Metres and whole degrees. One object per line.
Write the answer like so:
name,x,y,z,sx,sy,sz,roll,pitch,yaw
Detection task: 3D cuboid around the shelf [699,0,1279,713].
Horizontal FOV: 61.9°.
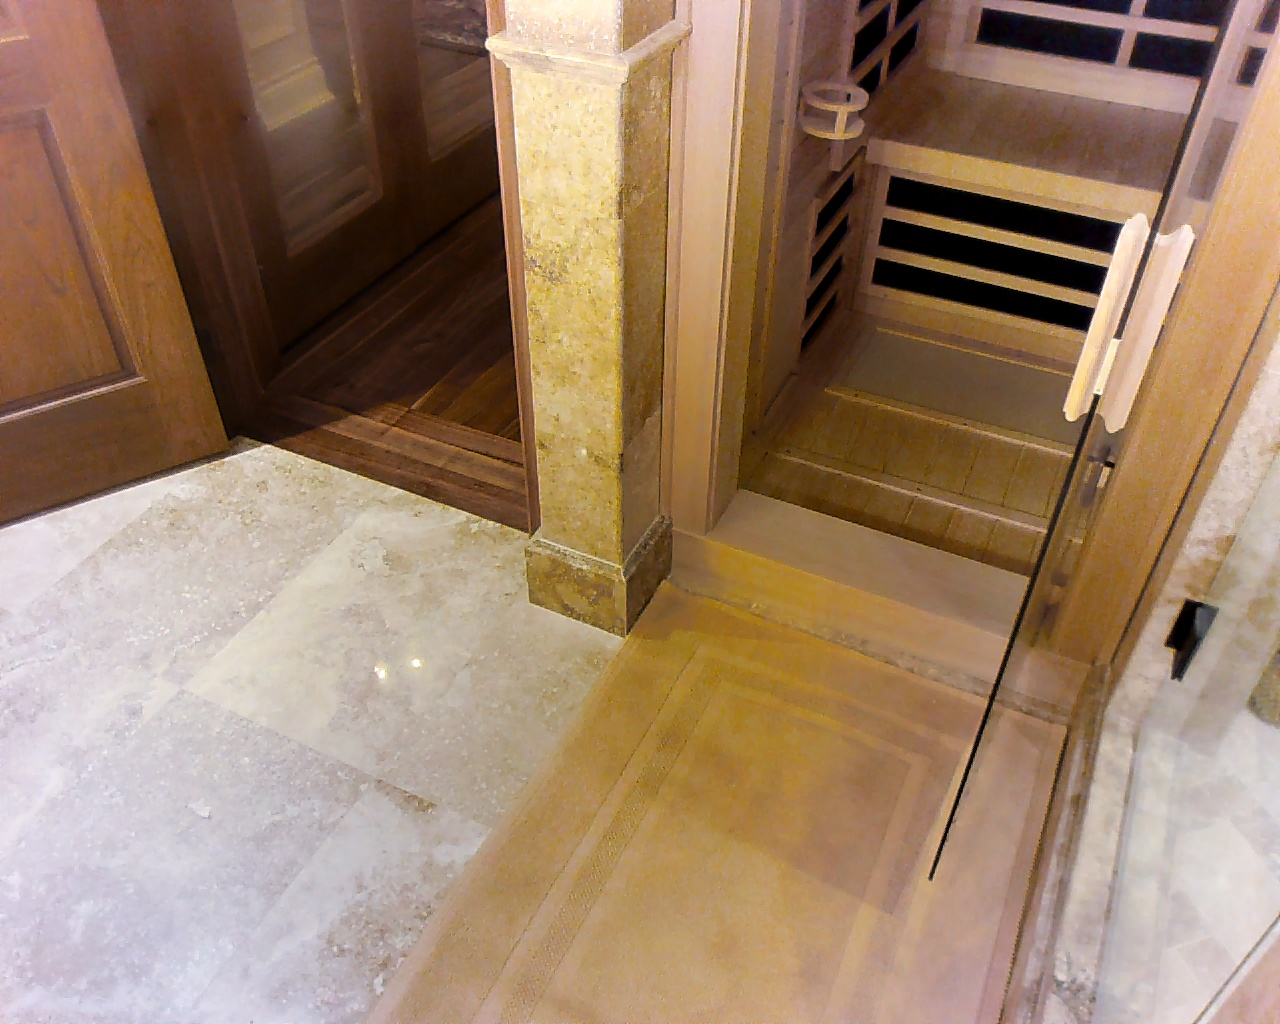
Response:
shelf,0.480,-0.560,1.400,0.660,1.920,0.290,18,44,19

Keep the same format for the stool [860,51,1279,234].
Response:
stool,1.050,-0.830,2.360,0.990,0.060,0.550,18,44,19
